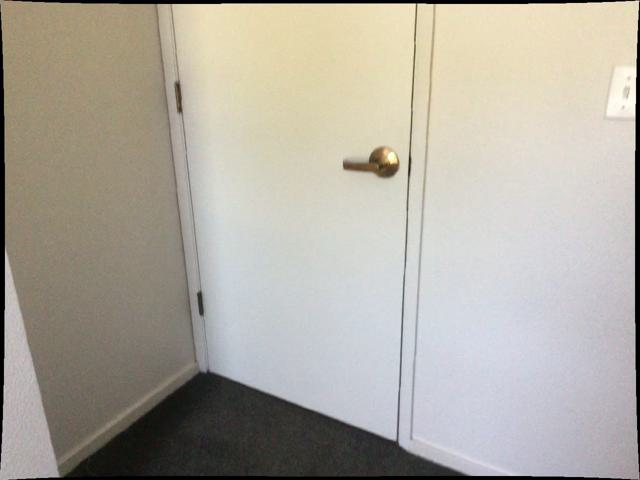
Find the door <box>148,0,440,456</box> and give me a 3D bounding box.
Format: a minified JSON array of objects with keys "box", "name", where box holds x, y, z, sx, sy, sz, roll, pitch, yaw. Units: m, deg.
[{"box":[-0.100,-0.331,1.690,0.869,2.053,0.080,10,26,27],"name":"door"}]
